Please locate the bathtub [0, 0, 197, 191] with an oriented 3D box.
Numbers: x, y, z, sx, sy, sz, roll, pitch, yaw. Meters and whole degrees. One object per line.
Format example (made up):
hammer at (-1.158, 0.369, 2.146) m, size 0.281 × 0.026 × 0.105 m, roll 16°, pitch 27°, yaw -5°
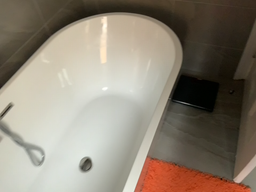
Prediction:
bathtub at (-0.280, 0.260, 1.130) m, size 0.840 × 0.590 × 1.740 m, roll 15°, pitch 55°, yaw 17°
